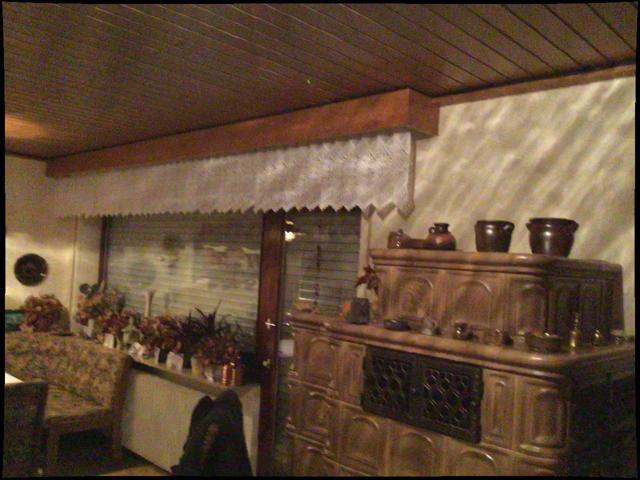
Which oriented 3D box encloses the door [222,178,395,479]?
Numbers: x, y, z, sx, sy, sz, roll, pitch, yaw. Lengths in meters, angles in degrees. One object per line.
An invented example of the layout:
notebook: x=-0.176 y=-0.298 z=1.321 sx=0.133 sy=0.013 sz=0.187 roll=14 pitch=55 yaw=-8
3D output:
door: x=-0.110 y=0.661 z=3.460 sx=1.049 sy=1.992 sz=0.270 roll=3 pitch=0 yaw=43

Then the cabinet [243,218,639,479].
cabinet: x=0.440 y=0.831 z=2.160 sx=1.259 sy=1.762 sz=0.810 roll=3 pitch=0 yaw=43

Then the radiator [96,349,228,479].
radiator: x=-1.189 y=1.261 z=4.200 sx=1.319 sy=0.701 sz=0.230 roll=3 pitch=0 yaw=43
